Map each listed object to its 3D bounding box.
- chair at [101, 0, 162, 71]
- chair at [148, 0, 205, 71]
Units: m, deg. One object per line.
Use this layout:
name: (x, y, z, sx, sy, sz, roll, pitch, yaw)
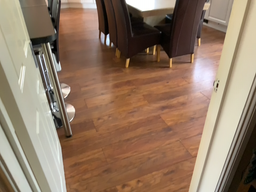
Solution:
chair: (0.040, -0.930, 2.860, 0.630, 0.980, 0.470, -14, 36, -18)
chair: (0.610, -0.950, 2.880, 0.400, 0.980, 0.630, -16, 37, -20)
